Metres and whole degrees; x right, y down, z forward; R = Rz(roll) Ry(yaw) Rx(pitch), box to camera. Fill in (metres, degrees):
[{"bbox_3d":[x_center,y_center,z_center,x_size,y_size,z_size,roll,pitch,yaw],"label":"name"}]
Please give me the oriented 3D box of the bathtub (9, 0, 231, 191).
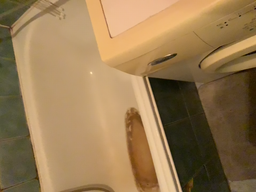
[{"bbox_3d":[-0.010,0.230,1.070,0.690,0.560,1.480,-21,80,32],"label":"bathtub"}]
